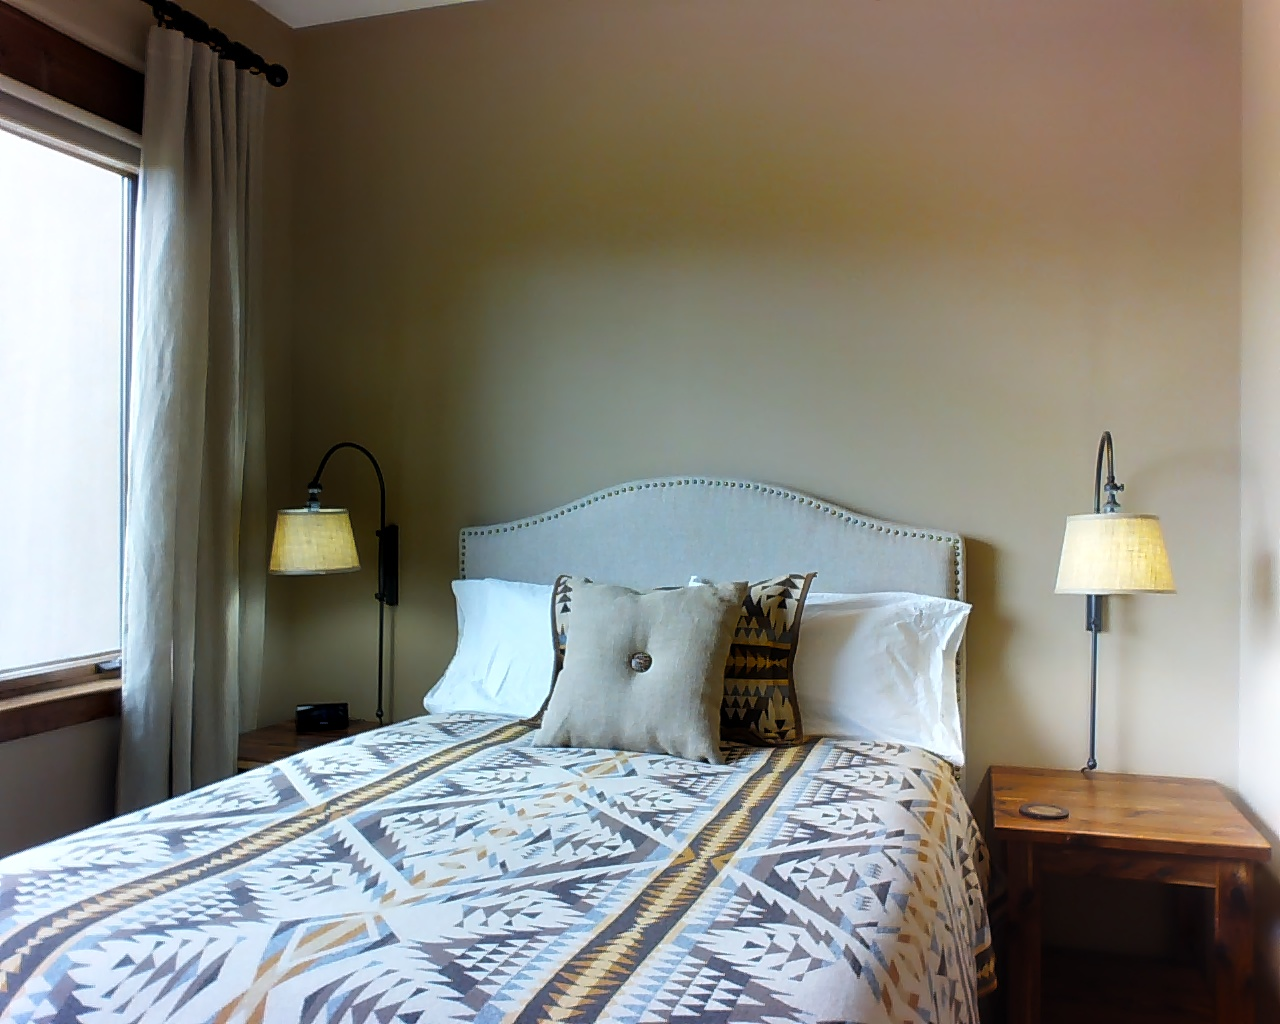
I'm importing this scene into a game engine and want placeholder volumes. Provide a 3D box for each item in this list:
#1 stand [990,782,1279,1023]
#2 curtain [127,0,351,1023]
[{"bbox_3d":[1.160,1.080,2.580,0.600,0.670,0.590,0,0,18],"label":"stand"},{"bbox_3d":[-1.150,0.020,3.160,0.220,2.781,0.720,0,0,17],"label":"curtain"}]
